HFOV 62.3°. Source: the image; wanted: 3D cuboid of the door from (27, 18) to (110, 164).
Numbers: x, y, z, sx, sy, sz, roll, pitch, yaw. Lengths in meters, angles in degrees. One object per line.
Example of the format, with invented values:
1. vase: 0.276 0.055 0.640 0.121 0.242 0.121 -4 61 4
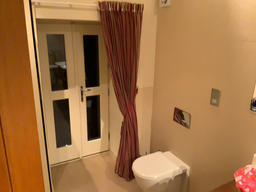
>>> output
1. door: -0.680 -0.030 2.730 0.930 1.790 0.060 -8 19 -26

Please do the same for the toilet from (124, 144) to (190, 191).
1. toilet: 0.300 0.880 2.310 0.560 0.440 0.410 -8 19 -27
